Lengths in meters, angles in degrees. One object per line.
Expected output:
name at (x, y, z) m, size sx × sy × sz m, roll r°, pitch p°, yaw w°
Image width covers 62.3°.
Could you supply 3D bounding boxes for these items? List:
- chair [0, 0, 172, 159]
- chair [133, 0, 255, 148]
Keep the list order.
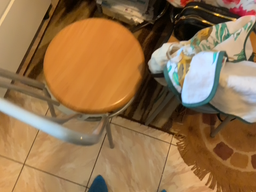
chair at (-0.150, -0.080, 0.820) m, size 0.400 × 0.760 × 0.470 m, roll 20°, pitch 77°, yaw 2°
chair at (0.310, -0.090, 0.850) m, size 0.400 × 0.760 × 0.470 m, roll 20°, pitch 77°, yaw 2°
